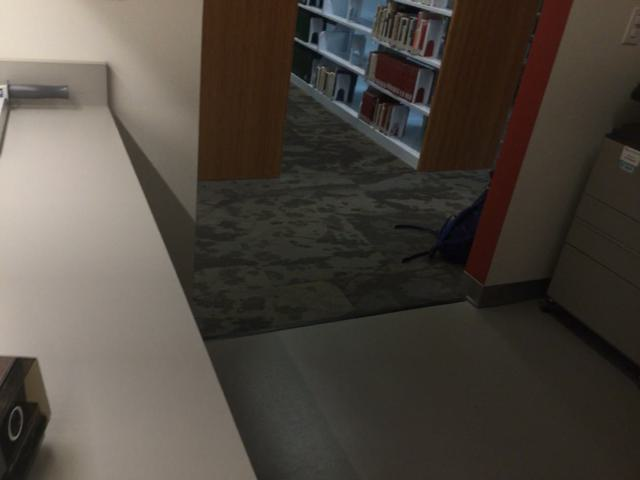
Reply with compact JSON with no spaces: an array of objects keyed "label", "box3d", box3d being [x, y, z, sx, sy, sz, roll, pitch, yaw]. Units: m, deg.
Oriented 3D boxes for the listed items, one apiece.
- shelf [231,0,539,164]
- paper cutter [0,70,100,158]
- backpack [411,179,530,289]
[{"label":"shelf","box3d":[0.050,-2.210,5.130,0.420,1.300,4.900,-5,31,-22]},{"label":"paper cutter","box3d":[-0.720,-0.260,1.150,0.500,0.070,0.360,-5,31,-22]},{"label":"backpack","box3d":[0.650,-0.040,2.580,0.250,0.300,0.440,-5,31,-22]}]
